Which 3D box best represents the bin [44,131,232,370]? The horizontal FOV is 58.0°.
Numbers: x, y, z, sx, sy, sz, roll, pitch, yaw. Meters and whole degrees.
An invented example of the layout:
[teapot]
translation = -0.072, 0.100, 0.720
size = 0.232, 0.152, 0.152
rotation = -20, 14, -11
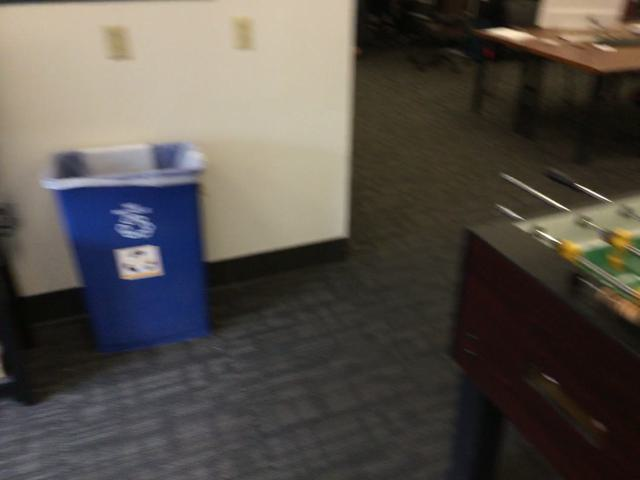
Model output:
[bin]
translation = -0.660, 0.030, 2.170
size = 0.520, 0.730, 0.350
rotation = -13, 33, -21
